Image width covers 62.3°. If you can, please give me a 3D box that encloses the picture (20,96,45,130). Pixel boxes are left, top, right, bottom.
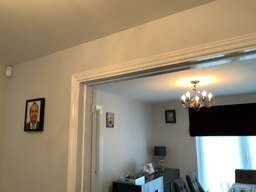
[{"bbox_3d":[-0.860,0.160,1.900,0.290,0.290,0.040,-7,-12,33],"label":"picture"}]
